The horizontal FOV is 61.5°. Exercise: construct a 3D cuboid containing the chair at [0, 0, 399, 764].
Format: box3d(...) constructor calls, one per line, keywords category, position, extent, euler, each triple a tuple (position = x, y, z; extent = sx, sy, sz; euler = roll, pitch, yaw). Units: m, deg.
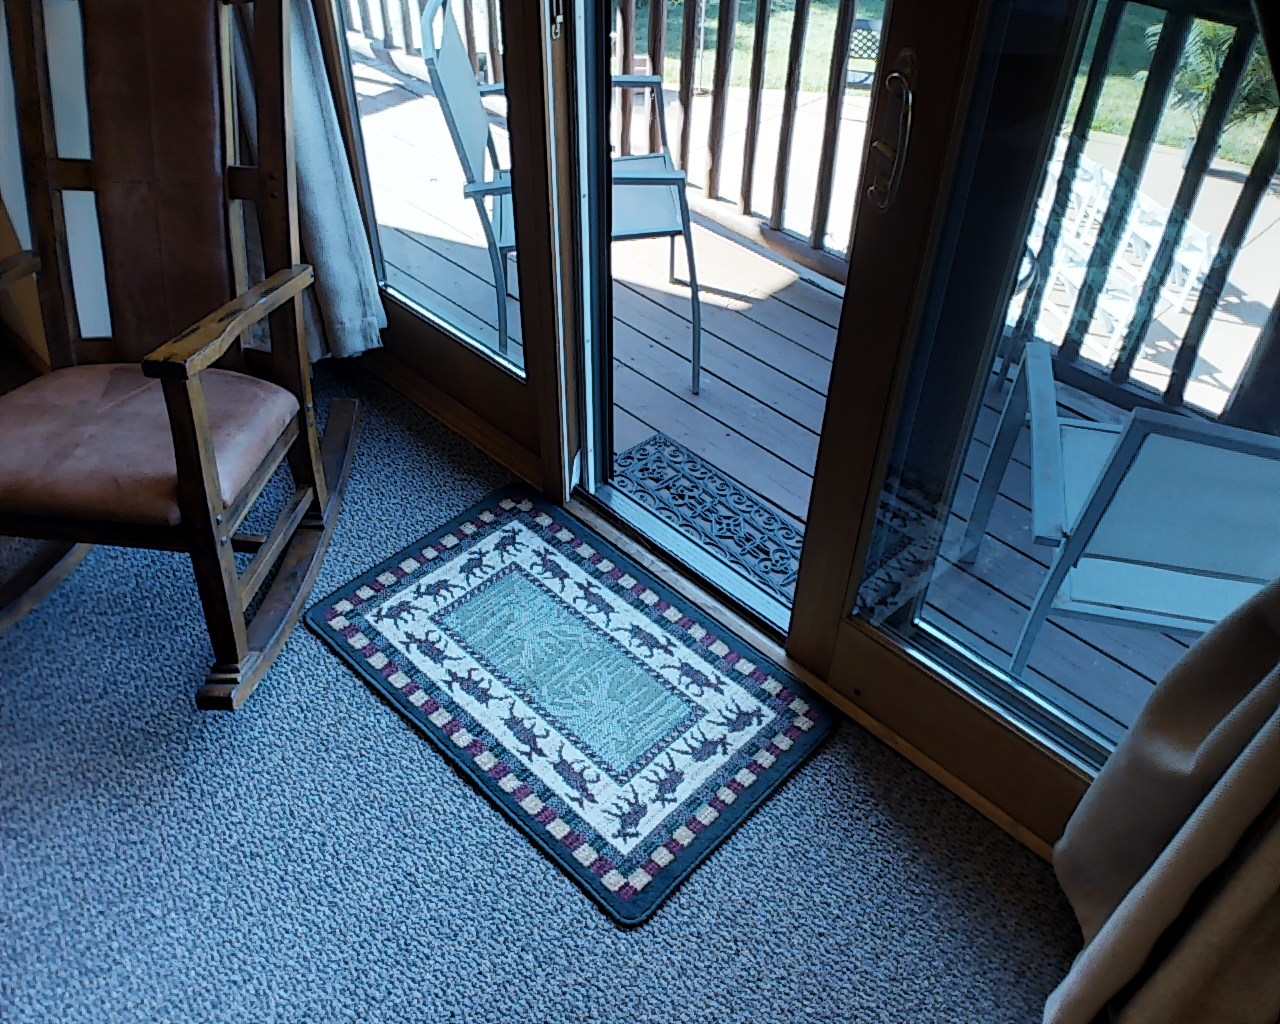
box3d(category="chair", position=(-0.940, -0.350, 1.860), extent=(0.690, 1.120, 1.040), euler=(3, 42, 1))
